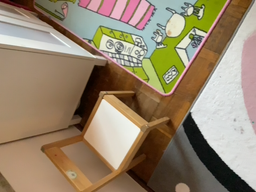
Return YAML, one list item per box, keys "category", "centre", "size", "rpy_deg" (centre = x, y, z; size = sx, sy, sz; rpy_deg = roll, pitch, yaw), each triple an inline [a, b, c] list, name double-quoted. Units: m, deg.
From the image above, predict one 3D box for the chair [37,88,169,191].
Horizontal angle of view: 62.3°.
- category: "chair"
  centre: [-0.090, 0.180, 1.020]
  size: [0.300, 0.490, 0.320]
  rpy_deg: [37, 110, 23]
